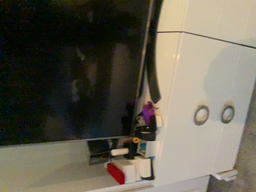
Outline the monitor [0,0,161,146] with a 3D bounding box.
[{"bbox_3d":[-0.190,-0.390,0.950,0.070,0.740,1.220,29,117,60],"label":"monitor"}]
